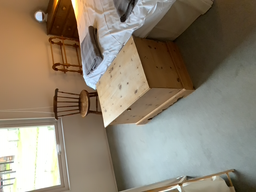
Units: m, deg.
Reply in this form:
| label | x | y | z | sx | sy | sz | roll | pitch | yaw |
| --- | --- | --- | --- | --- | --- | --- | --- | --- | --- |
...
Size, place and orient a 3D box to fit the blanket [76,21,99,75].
| label | x | y | z | sx | sy | sz | roll | pitch | yaw |
| --- | --- | --- | --- | --- | --- | --- | --- | --- | --- |
| blanket | -0.480 | -0.550 | 2.470 | 0.320 | 0.070 | 0.520 | -36 | 61 | 51 |

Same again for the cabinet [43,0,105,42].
| label | x | y | z | sx | sy | sz | roll | pitch | yaw |
| --- | --- | --- | --- | --- | --- | --- | --- | --- | --- |
| cabinet | -1.020 | -1.550 | 3.860 | 0.950 | 0.790 | 0.500 | -44 | 55 | 47 |
